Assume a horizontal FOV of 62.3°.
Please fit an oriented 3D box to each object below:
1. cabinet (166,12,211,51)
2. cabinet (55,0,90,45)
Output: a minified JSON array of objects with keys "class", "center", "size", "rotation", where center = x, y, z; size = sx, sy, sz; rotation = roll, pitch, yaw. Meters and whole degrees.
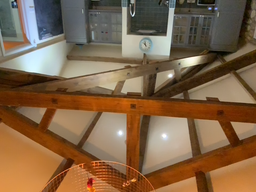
[{"class":"cabinet","center":[1.580,-1.740,5.680],"size":[1.020,0.900,0.420],"rotation":[5,-156,8]},{"class":"cabinet","center":[-1.500,-2.600,5.730],"size":[0.680,2.270,0.670],"rotation":[5,-156,8]}]
